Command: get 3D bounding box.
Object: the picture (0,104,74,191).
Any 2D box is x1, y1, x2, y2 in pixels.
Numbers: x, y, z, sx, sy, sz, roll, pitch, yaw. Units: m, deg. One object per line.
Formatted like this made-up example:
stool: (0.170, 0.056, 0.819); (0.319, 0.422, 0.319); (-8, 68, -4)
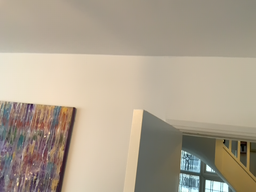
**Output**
picture: (-1.120, 0.510, 1.770); (1.290, 0.890, 0.060); (4, -14, 15)
